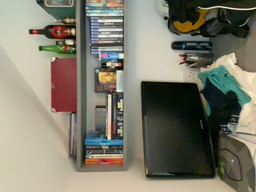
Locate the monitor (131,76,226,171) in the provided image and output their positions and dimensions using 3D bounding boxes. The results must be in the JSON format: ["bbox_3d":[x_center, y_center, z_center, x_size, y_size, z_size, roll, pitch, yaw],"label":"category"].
[{"bbox_3d":[0.240,0.120,1.140,0.040,0.430,0.530,96,174,-58],"label":"monitor"}]
